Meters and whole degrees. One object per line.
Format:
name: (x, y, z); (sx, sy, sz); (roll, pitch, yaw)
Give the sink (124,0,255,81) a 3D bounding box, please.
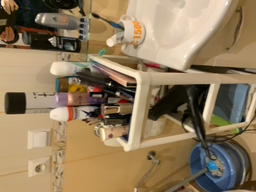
sink: (0.200, -0.370, 0.690); (0.420, 0.150, 0.550); (31, 117, 52)
